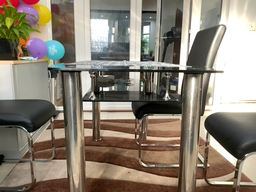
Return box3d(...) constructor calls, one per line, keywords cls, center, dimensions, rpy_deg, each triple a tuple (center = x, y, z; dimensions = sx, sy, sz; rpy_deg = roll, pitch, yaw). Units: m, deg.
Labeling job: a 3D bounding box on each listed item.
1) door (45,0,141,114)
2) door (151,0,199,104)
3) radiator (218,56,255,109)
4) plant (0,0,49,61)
box3d(cls="door", center=(-0.450, -0.850, 2.860), dimensions=(1.220, 2.220, 0.100), rpy_deg=(0, 11, -7))
box3d(cls="door", center=(0.690, -0.980, 3.290), dimensions=(0.100, 2.050, 0.910), rpy_deg=(-5, 12, -28))
box3d(cls="radiator", center=(1.610, -0.180, 2.930), dimensions=(0.650, 0.710, 0.110), rpy_deg=(0, 11, -6))
box3d(cls="plant", center=(-0.930, -0.540, 1.690), dimensions=(0.430, 0.490, 0.510), rpy_deg=(0, 11, -7))
